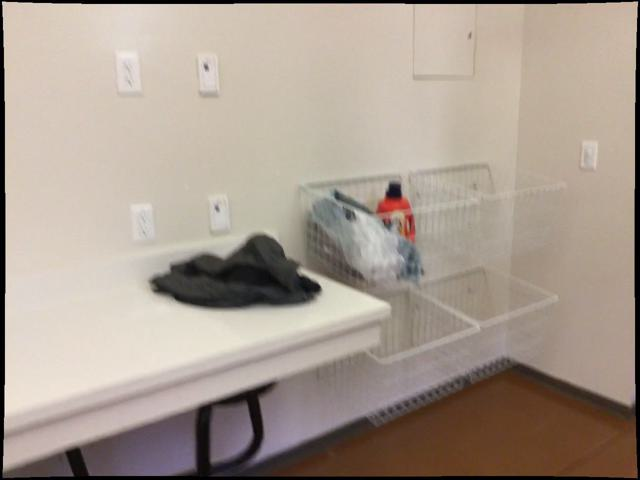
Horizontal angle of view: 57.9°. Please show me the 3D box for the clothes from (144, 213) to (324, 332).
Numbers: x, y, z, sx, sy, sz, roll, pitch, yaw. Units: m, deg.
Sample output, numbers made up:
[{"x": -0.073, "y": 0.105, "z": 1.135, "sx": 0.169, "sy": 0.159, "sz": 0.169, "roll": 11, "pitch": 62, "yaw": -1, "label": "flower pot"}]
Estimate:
[{"x": -0.270, "y": 0.070, "z": 1.740, "sx": 0.360, "sy": 0.180, "sz": 0.460, "roll": -12, "pitch": 18, "yaw": -32, "label": "clothes"}]
